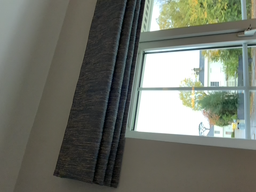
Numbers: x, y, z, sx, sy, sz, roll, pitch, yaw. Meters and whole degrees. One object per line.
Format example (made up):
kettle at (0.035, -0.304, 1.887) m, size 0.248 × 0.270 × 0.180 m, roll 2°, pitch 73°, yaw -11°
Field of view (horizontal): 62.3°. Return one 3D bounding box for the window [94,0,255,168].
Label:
window at (0.570, -0.580, 0.980) m, size 0.330 × 1.090 × 1.730 m, roll 45°, pitch -129°, yaw -60°
